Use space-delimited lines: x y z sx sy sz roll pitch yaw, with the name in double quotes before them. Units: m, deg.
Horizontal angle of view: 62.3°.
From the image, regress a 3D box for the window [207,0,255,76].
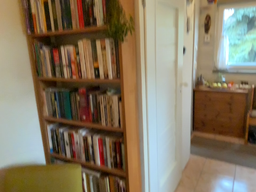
"window" 1.870 -0.990 3.360 1.060 1.300 0.280 6 17 31
